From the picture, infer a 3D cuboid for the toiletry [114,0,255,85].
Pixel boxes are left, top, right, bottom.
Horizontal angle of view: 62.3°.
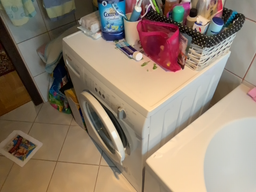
[{"bbox_3d":[0.230,-0.320,0.860,0.420,0.210,0.390,-31,54,-23],"label":"toiletry"}]
